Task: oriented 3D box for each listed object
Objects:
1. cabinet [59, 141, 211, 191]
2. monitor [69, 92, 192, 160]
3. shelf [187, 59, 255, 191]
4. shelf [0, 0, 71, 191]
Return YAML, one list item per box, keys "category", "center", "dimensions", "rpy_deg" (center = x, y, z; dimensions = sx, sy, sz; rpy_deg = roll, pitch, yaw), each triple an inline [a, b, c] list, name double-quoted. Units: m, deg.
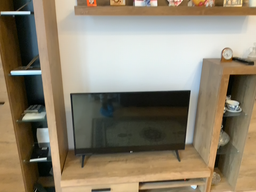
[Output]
- category: "cabinet"
  center: [0.050, 0.690, 1.920]
  dimensions: [1.200, 0.310, 0.440]
  rpy_deg: [-1, 20, -6]
- category: "monitor"
  center: [0.030, 0.260, 1.810]
  dimensions: [0.980, 0.580, 0.060]
  rpy_deg: [-2, 22, -7]
- category: "shelf"
  center: [0.790, 0.280, 1.880]
  dimensions: [0.290, 1.140, 0.390]
  rpy_deg: [-1, 20, -6]
- category: "shelf"
  center: [-0.680, -0.050, 1.610]
  dimensions: [0.280, 1.900, 0.390]
  rpy_deg: [-1, 20, -6]
